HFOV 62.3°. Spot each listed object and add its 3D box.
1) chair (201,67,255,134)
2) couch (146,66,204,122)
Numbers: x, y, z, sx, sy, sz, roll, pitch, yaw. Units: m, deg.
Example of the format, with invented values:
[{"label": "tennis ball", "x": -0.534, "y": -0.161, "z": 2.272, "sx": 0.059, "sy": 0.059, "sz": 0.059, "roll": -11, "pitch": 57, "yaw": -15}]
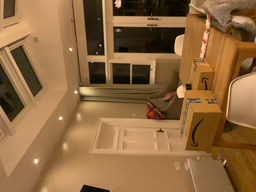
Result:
[{"label": "chair", "x": 1.040, "y": 0.010, "z": 1.590, "sx": 0.510, "sy": 0.780, "sz": 0.420, "roll": -80, "pitch": -8, "yaw": -82}, {"label": "couch", "x": 0.970, "y": -0.040, "z": 4.730, "sx": 0.870, "sy": 1.050, "sz": 0.840, "roll": 90, "pitch": -178, "yaw": -47}]
